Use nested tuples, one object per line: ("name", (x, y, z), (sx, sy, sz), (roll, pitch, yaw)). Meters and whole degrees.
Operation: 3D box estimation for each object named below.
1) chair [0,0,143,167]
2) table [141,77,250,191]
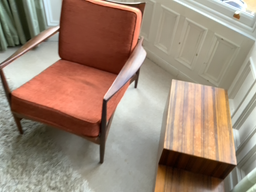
("chair", (-0.330, -0.110, 1.410), (0.600, 0.680, 0.740), (16, 46, 9))
("table", (0.330, 0.330, 1.230), (0.410, 0.450, 0.740), (11, 46, 4))
